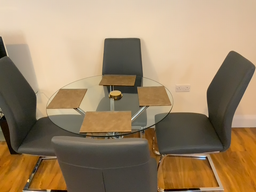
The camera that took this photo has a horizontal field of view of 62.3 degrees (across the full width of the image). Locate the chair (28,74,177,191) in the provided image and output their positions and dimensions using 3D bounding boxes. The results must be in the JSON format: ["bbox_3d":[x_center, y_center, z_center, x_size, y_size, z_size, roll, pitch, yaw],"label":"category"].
[{"bbox_3d":[-0.060,0.470,1.160,0.470,1.030,0.570,1,29,3],"label":"chair"}]

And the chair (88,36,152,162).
[{"bbox_3d":[-0.040,0.030,1.960,0.450,1.030,0.530,0,29,2],"label":"chair"}]

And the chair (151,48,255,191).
[{"bbox_3d":[0.480,0.210,1.620,0.530,1.030,0.450,-1,29,0],"label":"chair"}]

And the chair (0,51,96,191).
[{"bbox_3d":[-0.620,0.220,1.640,0.590,1.030,0.450,0,29,2],"label":"chair"}]
